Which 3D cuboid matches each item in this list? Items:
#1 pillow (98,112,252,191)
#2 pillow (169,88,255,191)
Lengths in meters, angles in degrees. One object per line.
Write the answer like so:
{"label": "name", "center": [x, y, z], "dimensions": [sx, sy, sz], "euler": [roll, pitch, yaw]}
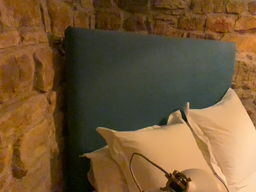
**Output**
{"label": "pillow", "center": [0.230, 0.400, 1.200], "dimensions": [0.610, 0.390, 0.540], "euler": [-6, 18, -34]}
{"label": "pillow", "center": [0.800, 0.260, 1.660], "dimensions": [0.760, 0.490, 0.510], "euler": [-8, 19, -36]}
